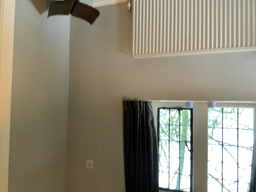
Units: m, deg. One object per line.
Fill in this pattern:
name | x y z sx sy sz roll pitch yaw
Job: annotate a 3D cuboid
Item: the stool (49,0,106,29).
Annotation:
stool | -0.480 -0.920 1.980 0.430 0.400 0.390 2 178 -28
